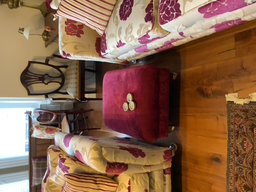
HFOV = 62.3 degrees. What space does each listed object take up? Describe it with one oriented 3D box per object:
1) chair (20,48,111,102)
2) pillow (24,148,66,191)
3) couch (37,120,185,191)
[{"bbox_3d":[-0.780,-0.220,2.660,0.540,0.980,0.550,1,91,57],"label":"chair"},{"bbox_3d":[-1.320,1.160,3.390,0.190,0.480,0.440,-3,104,56],"label":"pillow"},{"bbox_3d":[-0.220,1.200,1.870,1.090,0.890,1.830,-2,88,57],"label":"couch"}]
